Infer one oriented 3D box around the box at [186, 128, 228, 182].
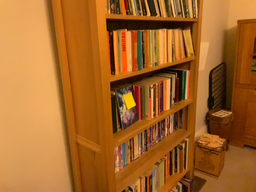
[{"bbox_3d":[0.880,0.640,2.380,0.330,0.410,0.300,12,22,39],"label":"box"}]
